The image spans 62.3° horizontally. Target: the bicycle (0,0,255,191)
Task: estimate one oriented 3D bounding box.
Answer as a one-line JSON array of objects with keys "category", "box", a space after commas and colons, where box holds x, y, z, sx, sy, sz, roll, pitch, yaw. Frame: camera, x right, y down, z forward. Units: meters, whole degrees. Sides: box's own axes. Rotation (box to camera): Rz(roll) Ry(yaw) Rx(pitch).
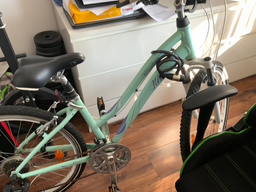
[{"category": "bicycle", "box": [0.000, -0.020, 0.960, 1.620, 1.070, 0.340, -15, 46, -16]}]
